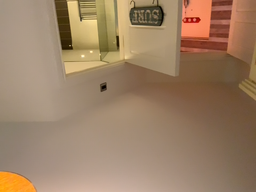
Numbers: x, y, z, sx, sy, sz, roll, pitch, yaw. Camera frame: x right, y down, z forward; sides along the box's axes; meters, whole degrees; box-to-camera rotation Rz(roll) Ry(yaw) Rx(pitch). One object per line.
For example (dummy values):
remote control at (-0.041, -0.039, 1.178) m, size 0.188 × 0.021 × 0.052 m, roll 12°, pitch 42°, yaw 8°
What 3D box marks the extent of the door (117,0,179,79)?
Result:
door at (0.110, -1.210, 1.710) m, size 0.030 × 2.030 × 0.840 m, roll -15°, pitch -156°, yaw -29°
